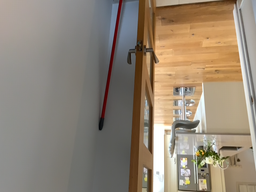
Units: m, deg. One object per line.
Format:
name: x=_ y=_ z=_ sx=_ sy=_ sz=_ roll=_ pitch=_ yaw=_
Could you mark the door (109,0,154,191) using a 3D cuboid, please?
door: x=0.070 y=-0.090 z=1.320 sx=0.120 sy=1.840 sz=0.620 roll=-1 pitch=159 yaw=11
